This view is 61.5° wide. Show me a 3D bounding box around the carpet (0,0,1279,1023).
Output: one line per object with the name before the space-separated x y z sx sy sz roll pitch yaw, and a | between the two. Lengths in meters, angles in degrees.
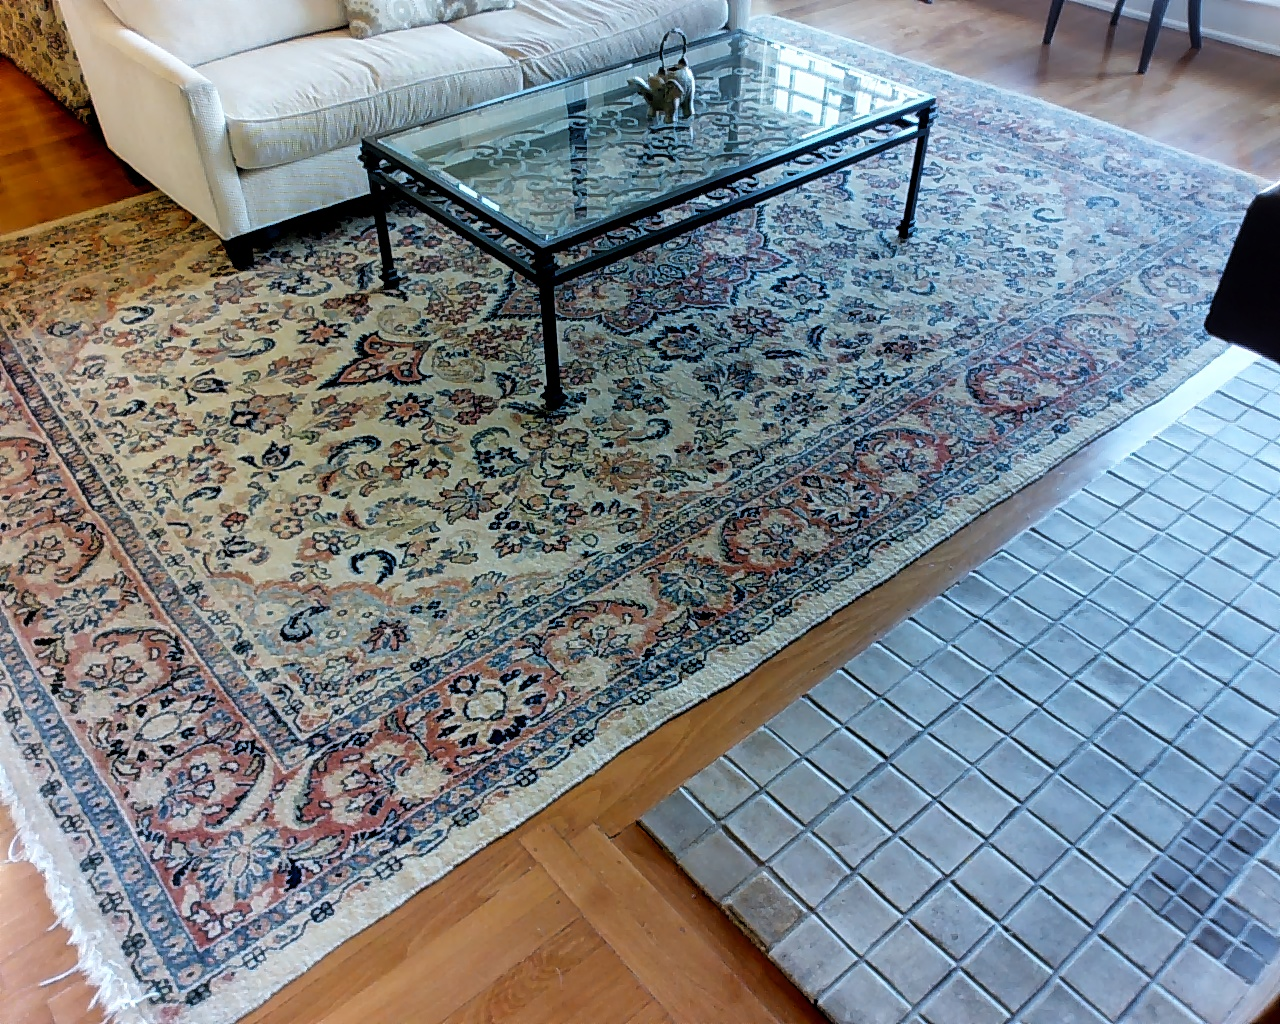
carpet | -0.030 -0.890 3.380 4.190 0.070 2.930 -30 50 -29

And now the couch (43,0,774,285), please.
couch | -0.690 -1.760 3.750 2.260 0.860 1.070 -31 50 -30

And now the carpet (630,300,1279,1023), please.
carpet | 1.210 0.050 2.310 2.630 0.040 0.690 -29 50 -29
